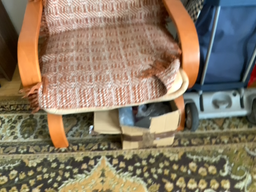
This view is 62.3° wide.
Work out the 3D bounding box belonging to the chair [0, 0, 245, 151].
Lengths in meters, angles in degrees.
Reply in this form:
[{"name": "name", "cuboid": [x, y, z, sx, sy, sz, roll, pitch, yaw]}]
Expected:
[{"name": "chair", "cuboid": [-0.100, -0.380, 0.910, 0.670, 0.970, 0.810, -5, 53, -4]}]
